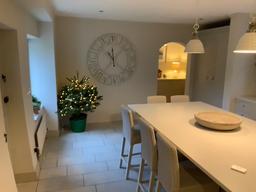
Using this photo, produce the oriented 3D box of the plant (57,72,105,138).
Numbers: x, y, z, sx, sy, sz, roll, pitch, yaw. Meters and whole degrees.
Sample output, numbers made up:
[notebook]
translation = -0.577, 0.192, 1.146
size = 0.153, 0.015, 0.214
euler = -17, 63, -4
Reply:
[plant]
translation = -1.060, 0.150, 4.760
size = 0.940, 1.290, 0.780
euler = -3, 12, -16
